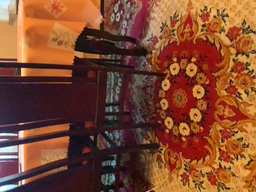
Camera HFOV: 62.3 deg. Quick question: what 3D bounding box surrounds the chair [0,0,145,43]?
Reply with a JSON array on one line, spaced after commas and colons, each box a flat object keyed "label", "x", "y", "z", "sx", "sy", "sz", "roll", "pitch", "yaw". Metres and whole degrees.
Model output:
[{"label": "chair", "x": -0.390, "y": -0.680, "z": 1.460, "sx": 0.450, "sy": 0.910, "sz": 0.480, "roll": 20, "pitch": 107, "yaw": 60}]

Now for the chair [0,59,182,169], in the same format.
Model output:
[{"label": "chair", "x": -0.250, "y": 0.040, "z": 1.180, "sx": 0.490, "sy": 0.940, "sz": 0.400, "roll": 22, "pitch": 109, "yaw": 60}]
